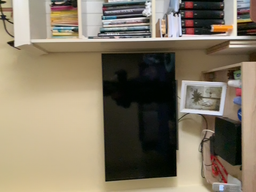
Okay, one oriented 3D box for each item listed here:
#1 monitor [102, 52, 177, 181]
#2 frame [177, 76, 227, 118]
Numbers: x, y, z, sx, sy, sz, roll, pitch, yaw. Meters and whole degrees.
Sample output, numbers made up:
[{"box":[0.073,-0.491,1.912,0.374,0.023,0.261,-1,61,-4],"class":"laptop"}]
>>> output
[{"box":[0.090,0.150,1.580,0.070,0.540,0.930,-142,51,-83],"class":"monitor"},{"box":[0.510,0.000,1.500,0.150,0.300,0.280,-56,-35,-83],"class":"frame"}]
